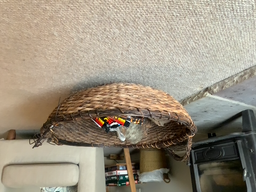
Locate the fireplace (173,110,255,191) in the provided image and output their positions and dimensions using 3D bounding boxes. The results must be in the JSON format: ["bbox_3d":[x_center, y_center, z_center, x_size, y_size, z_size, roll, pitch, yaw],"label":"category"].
[{"bbox_3d":[0.670,0.460,1.340,0.520,0.560,0.480,12,154,-30],"label":"fireplace"}]

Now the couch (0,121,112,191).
[{"bbox_3d":[-0.590,0.690,1.700,0.840,0.750,0.840,-2,158,1],"label":"couch"}]
